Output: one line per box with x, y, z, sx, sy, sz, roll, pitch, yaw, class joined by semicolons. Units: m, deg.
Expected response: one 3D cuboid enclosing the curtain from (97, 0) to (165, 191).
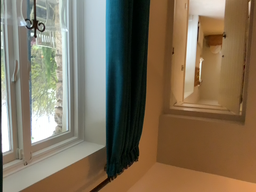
0.050;-0.530;1.460;0.270;2.220;0.550;4;-172;23;curtain
